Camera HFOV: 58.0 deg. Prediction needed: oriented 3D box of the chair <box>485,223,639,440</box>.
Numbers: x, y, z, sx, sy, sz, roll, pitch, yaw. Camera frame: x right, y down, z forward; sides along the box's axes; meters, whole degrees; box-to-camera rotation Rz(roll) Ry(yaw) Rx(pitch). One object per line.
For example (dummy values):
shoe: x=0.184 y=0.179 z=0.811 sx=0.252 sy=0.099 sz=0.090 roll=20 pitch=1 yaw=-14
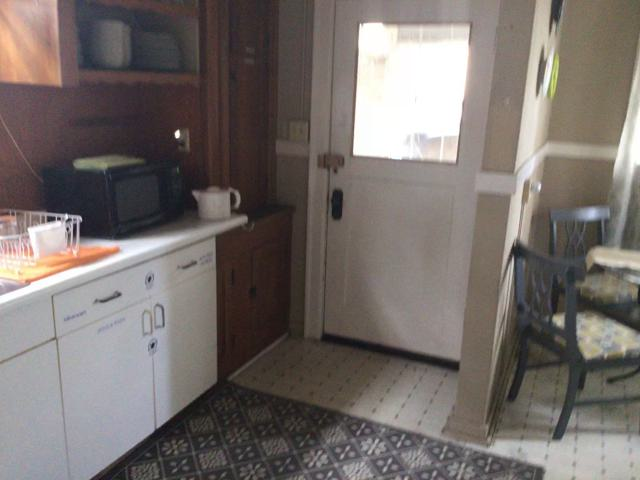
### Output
chair: x=1.210 y=0.400 z=2.770 sx=0.570 sy=0.840 sz=0.520 roll=-4 pitch=15 yaw=-13

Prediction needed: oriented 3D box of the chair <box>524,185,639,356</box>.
chair: x=1.690 y=0.140 z=3.590 sx=0.690 sy=0.810 sz=0.790 roll=6 pitch=15 yaw=21
